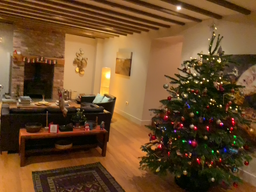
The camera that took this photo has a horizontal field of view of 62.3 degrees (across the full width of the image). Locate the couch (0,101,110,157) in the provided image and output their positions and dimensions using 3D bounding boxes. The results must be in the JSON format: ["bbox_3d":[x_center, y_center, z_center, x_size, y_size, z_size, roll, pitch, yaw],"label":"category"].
[{"bbox_3d":[-1.420,0.550,4.090,1.890,0.730,0.870,2,9,-29],"label":"couch"}]

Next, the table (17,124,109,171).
[{"bbox_3d":[-1.060,0.800,3.530,1.360,0.470,0.520,1,9,-31],"label":"table"}]
